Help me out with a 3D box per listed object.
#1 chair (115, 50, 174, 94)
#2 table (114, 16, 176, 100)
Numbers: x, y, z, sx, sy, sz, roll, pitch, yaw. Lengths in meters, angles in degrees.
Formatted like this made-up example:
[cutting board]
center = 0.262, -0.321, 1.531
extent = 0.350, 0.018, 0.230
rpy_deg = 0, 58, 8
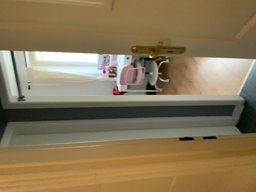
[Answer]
[chair]
center = 0.260, -0.430, 3.770
extent = 0.600, 0.840, 0.600
rpy_deg = -119, 32, -63
[table]
center = 0.250, -0.650, 3.880
extent = 0.530, 0.800, 1.370
rpy_deg = -111, 25, -55
